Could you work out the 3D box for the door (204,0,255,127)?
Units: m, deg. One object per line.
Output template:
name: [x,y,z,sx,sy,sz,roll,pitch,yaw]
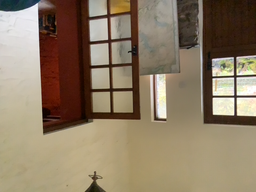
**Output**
door: [1.540,-0.620,3.050,0.840,2.080,0.100,1,-177,30]
